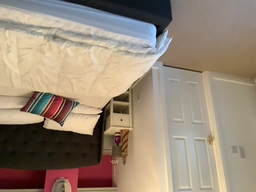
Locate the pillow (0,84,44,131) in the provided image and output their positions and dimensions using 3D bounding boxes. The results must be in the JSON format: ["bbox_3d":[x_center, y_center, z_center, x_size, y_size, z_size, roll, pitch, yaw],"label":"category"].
[{"bbox_3d":[-1.440,0.150,2.700,0.640,0.480,0.290,6,-155,-17],"label":"pillow"}]

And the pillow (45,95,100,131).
[{"bbox_3d":[-0.790,0.250,2.990,0.690,0.430,0.240,4,-158,-22],"label":"pillow"}]

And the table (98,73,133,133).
[{"bbox_3d":[-0.210,0.130,3.360,0.370,0.790,0.560,7,158,-19],"label":"table"}]

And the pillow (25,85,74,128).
[{"bbox_3d":[-0.970,0.110,2.630,0.240,0.380,0.490,25,-156,30],"label":"pillow"}]
